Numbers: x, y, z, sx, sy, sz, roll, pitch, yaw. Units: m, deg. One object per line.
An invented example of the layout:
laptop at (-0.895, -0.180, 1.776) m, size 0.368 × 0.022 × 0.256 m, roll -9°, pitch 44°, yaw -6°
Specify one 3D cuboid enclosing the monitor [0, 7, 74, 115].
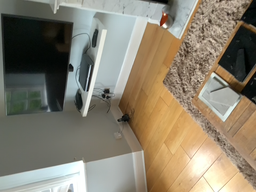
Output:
monitor at (-0.850, -0.270, 1.990) m, size 0.110 × 0.560 × 0.970 m, roll 49°, pitch 133°, yaw 45°
